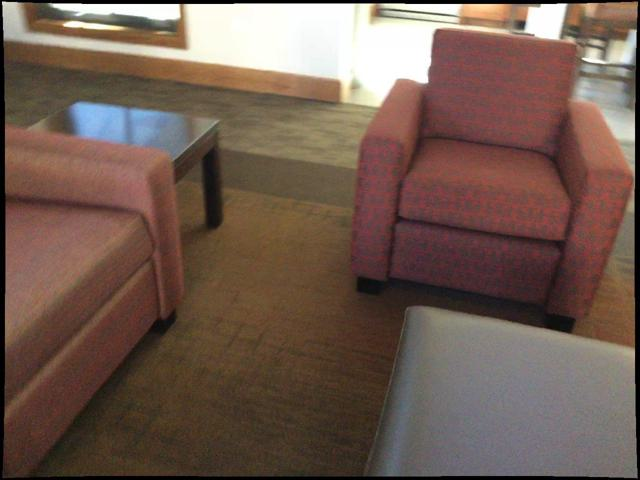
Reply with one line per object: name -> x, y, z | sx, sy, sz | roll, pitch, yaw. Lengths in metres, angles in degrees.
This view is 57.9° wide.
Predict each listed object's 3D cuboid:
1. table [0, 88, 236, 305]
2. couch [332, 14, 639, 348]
table -> -0.789, -0.200, 2.180 | 0.739, 0.460, 0.620 | 11, 35, 12
couch -> 0.579, -0.260, 2.080 | 0.859, 0.811, 0.760 | 11, 35, 12
